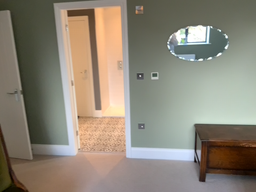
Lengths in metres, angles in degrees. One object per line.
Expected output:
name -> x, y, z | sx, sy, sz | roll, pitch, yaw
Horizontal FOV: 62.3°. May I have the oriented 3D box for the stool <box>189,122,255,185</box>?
stool -> 1.240, 0.660, 2.520 | 0.900, 0.530, 0.470 | 1, 15, 8
